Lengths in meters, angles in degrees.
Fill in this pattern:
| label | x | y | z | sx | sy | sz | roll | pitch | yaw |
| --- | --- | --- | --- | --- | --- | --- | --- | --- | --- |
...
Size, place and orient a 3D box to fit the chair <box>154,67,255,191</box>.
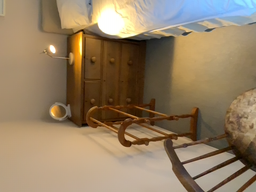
| label | x | y | z | sx | sy | sz | roll | pitch | yaw |
| --- | --- | --- | --- | --- | --- | --- | --- | --- | --- |
| chair | 0.640 | 0.190 | 1.040 | 0.460 | 0.810 | 0.490 | 42 | 126 | 47 |
